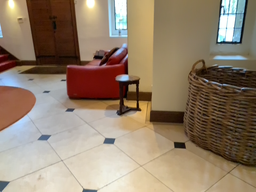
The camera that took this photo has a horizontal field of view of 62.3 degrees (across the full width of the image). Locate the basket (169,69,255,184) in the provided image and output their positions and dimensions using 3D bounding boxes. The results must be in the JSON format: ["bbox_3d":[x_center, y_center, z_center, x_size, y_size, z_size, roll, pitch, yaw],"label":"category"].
[{"bbox_3d":[1.070,0.250,2.270,1.020,0.830,0.630,15,26,36],"label":"basket"}]

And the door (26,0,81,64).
[{"bbox_3d":[-2.210,-2.070,6.300,1.450,2.250,0.070,2,21,7],"label":"door"}]

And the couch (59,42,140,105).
[{"bbox_3d":[-0.430,-0.630,4.640,1.180,0.840,2.110,2,21,8],"label":"couch"}]
